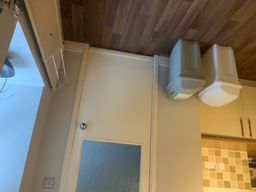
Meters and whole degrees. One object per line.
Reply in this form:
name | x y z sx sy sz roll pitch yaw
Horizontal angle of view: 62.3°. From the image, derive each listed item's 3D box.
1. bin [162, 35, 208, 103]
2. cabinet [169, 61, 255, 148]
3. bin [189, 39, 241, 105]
bin | 0.590 -0.270 2.270 0.300 0.560 0.420 9 159 -10
cabinet | 1.270 0.150 2.870 1.300 0.890 0.520 8 159 -9
bin | 0.910 -0.240 2.300 0.300 0.550 0.420 9 159 -12
